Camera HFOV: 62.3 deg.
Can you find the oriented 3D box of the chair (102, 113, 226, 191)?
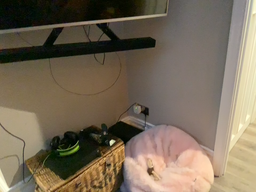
[{"bbox_3d":[0.270,0.500,1.600,0.650,0.350,0.610,19,34,39],"label":"chair"}]
